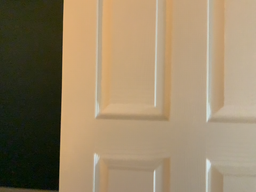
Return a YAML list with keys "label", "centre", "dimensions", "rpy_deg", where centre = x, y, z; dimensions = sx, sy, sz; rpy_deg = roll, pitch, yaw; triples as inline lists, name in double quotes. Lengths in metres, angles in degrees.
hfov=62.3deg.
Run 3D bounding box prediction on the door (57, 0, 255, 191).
- label: "door"
  centre: [0.200, -0.510, 0.610]
  dimensions: [0.790, 2.050, 0.050]
  rpy_deg: [1, 179, 6]
